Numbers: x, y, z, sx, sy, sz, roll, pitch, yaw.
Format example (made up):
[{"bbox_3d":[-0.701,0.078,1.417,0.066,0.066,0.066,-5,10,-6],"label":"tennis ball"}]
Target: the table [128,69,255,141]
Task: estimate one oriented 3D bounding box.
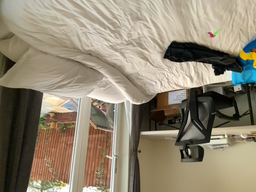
[{"bbox_3d":[1.000,0.250,3.300,1.840,0.720,0.790,-10,158,32],"label":"table"}]
